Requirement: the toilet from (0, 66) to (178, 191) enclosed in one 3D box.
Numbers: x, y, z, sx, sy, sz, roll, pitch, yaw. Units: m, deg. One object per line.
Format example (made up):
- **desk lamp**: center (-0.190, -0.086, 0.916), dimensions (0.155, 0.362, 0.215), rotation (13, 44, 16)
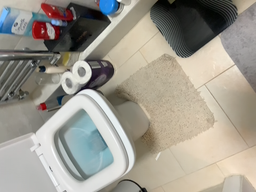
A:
- **toilet**: center (-0.260, 0.240, 0.900), dimensions (0.620, 0.790, 0.400), rotation (-40, 79, 29)
